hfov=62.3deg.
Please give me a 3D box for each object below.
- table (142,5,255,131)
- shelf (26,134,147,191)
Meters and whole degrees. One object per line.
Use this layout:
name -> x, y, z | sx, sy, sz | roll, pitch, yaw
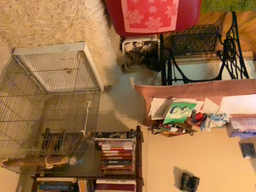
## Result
table -> 0.500, -0.190, 1.570 | 0.760, 0.730, 0.500 | -2, 148, 6
shelf -> -0.250, 0.680, 1.320 | 0.740, 0.850, 0.200 | -2, 148, 5
